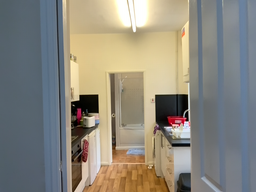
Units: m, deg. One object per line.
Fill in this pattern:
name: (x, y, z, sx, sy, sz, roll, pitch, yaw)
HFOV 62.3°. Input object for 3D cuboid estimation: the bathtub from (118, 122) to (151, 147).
bathtub: (0.180, 1.090, 6.180, 0.890, 0.550, 0.840, 0, 1, 1)
